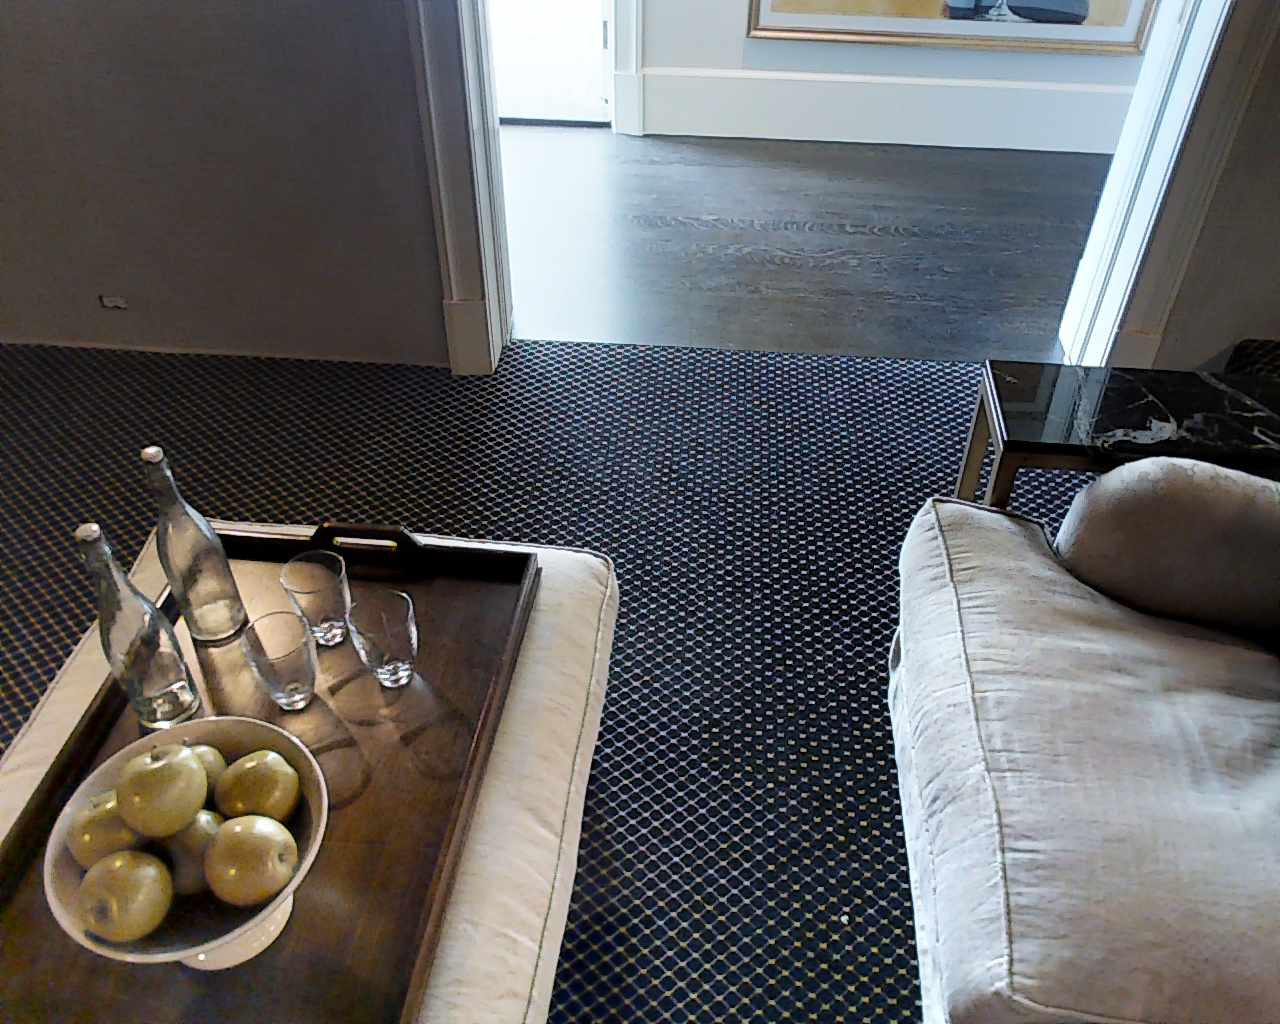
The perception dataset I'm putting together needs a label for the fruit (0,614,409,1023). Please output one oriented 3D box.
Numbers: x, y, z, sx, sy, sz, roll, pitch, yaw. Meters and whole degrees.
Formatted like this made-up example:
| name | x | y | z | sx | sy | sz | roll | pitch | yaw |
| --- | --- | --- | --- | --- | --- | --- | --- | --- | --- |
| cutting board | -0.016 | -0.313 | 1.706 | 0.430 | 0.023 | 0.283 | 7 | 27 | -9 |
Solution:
| name | x | y | z | sx | sy | sz | roll | pitch | yaw |
| --- | --- | --- | --- | --- | --- | --- | --- | --- | --- |
| fruit | -0.460 | 0.330 | 1.130 | 0.310 | 0.260 | 0.310 | 8 | 42 | 7 |
